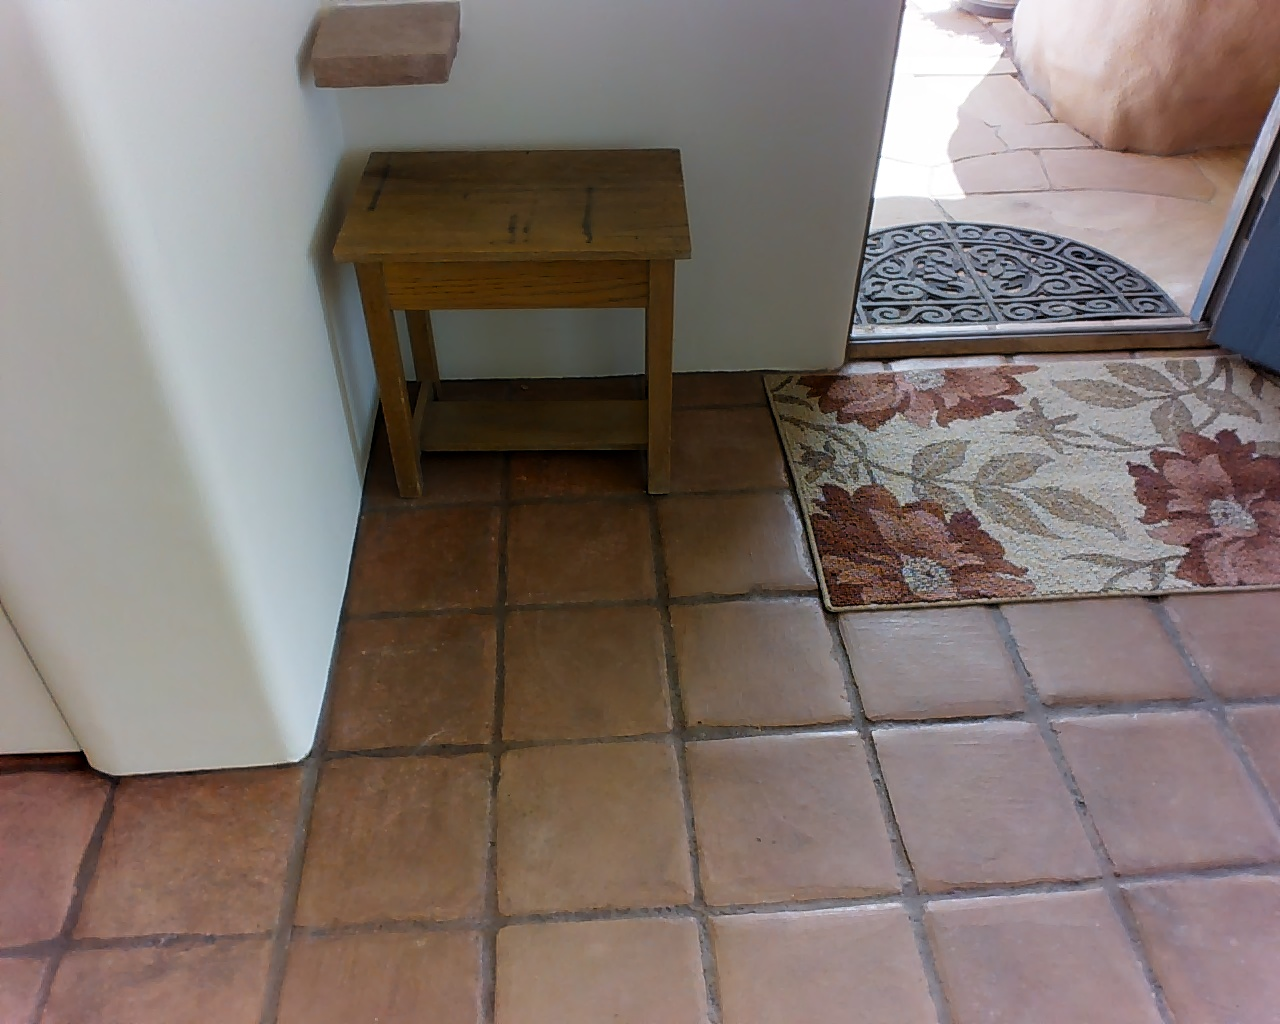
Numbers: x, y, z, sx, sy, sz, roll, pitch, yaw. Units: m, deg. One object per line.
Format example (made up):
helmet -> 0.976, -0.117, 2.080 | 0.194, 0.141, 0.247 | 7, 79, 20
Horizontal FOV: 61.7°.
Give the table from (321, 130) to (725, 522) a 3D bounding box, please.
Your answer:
table -> -0.210, -0.380, 2.190 | 0.680, 0.600, 0.490 | -2, 42, -3
